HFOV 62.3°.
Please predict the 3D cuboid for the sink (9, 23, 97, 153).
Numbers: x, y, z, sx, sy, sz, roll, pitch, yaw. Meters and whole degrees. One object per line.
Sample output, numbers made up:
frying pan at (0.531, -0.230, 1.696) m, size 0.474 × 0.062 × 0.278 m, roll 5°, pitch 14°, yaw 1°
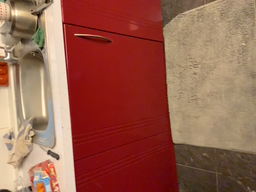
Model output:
sink at (-0.430, -0.030, 1.150) m, size 0.520 × 0.200 × 0.550 m, roll -3°, pitch 92°, yaw 45°
